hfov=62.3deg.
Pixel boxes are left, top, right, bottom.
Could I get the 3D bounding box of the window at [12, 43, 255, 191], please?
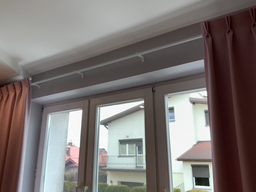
[{"bbox_3d":[-0.140,0.610,1.740,2.250,1.470,0.320,-10,-19,32],"label":"window"}]
